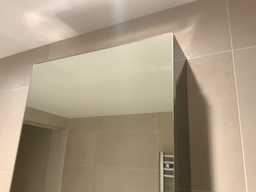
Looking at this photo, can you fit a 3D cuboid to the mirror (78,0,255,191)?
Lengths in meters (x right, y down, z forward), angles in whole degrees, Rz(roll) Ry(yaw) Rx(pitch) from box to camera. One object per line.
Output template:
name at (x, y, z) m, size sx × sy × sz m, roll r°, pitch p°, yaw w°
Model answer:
mirror at (0.140, 0.160, 0.440) m, size 0.580 × 0.800 × 0.040 m, roll -7°, pitch -19°, yaw 28°
